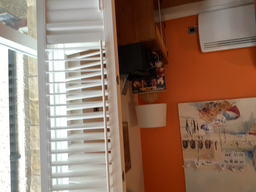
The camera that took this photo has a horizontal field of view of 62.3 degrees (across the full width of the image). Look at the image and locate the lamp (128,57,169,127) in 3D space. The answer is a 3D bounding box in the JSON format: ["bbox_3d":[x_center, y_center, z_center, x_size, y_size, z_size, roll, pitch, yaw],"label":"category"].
[{"bbox_3d":[0.230,-0.020,2.220,0.290,0.640,0.460,-5,175,16],"label":"lamp"}]
